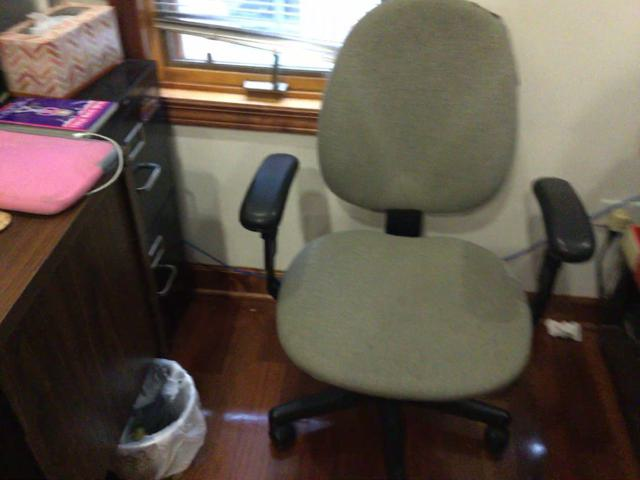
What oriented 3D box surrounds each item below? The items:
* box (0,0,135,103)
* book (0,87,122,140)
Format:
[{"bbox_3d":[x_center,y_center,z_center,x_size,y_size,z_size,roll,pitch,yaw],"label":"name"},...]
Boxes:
[{"bbox_3d":[-0.520,-0.400,1.160,0.190,0.140,0.270,3,37,2],"label":"box"},{"bbox_3d":[-0.480,-0.230,1.040,0.200,0.030,0.140,3,37,2],"label":"book"}]
